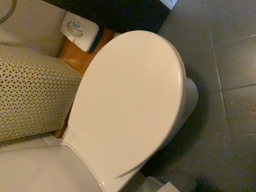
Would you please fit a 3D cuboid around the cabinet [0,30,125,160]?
[{"bbox_3d":[-0.430,-0.020,0.960,0.360,0.730,0.380,38,110,27],"label":"cabinet"}]

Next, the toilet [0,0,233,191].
[{"bbox_3d":[-0.060,0.090,0.770,0.370,0.820,0.690,40,111,26],"label":"toilet"}]
